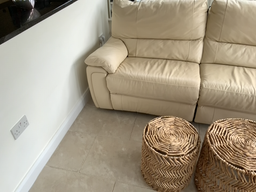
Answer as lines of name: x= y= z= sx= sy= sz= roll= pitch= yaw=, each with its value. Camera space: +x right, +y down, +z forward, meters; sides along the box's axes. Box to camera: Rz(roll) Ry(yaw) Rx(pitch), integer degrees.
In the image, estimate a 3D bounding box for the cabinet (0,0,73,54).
cabinet: x=-1.660 y=-1.290 z=3.420 sx=1.220 sy=0.890 sz=0.620 roll=9 pitch=38 yaw=13
